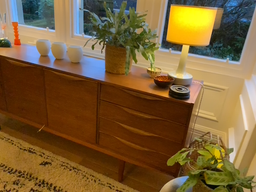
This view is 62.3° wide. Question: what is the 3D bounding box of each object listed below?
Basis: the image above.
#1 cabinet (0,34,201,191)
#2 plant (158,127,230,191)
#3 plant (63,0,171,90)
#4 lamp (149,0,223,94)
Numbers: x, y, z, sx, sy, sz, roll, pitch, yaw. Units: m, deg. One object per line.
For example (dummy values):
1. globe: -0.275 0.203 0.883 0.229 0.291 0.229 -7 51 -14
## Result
1. cabinet: -0.510 0.060 1.830 1.980 0.790 0.500 17 27 21
2. plant: 0.280 0.310 0.880 0.220 0.180 0.310 16 27 19
3. plant: -0.070 -0.390 1.470 0.540 0.440 0.480 17 27 22
4. lamp: 0.370 -0.330 1.360 0.300 0.490 0.330 17 27 21
